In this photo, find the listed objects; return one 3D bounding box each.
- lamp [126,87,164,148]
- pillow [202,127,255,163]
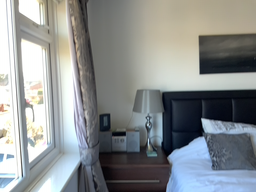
[{"bbox_3d":[0.180,0.220,2.350,0.390,0.630,0.300,-1,4,0],"label":"lamp"},{"bbox_3d":[0.910,0.460,1.960,0.330,0.300,0.310,-1,-17,4],"label":"pillow"}]
